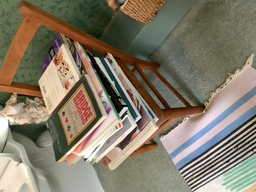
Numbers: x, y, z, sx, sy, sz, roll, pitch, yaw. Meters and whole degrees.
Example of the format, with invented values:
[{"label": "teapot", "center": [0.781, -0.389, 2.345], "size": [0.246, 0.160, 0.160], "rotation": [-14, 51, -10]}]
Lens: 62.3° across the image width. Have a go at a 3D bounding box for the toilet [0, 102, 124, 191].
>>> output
[{"label": "toilet", "center": [-0.560, 0.480, 1.020], "size": [0.570, 0.780, 0.700], "rotation": [-48, 59, 28]}]
